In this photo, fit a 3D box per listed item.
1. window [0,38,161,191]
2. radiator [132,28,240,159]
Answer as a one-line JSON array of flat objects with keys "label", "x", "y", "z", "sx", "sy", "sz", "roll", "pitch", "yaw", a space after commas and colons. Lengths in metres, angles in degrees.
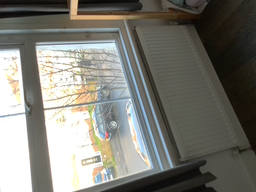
[{"label": "window", "x": -0.380, "y": 0.090, "z": 1.530, "sx": 0.160, "sy": 0.970, "sz": 1.080, "roll": 126, "pitch": 132, "yaw": -61}, {"label": "radiator", "x": 0.410, "y": -0.100, "z": 1.600, "sx": 0.040, "sy": 0.520, "sz": 1.020, "roll": 123, "pitch": 135, "yaw": -60}]
